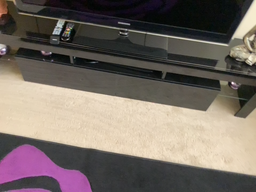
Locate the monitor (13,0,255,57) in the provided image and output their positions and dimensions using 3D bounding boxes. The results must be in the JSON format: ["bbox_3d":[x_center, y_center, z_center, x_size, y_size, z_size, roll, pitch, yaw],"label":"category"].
[{"bbox_3d":[0.010,-0.650,1.040,1.320,0.860,0.070,10,52,0],"label":"monitor"}]
